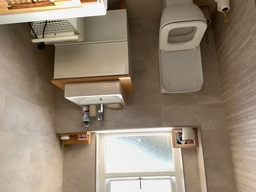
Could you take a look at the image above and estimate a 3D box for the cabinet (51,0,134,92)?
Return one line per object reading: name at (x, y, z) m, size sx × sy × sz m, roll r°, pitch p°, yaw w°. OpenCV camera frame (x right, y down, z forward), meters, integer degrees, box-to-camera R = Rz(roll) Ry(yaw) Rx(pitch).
cabinet at (-0.290, -0.460, 1.960) m, size 0.620 × 0.720 × 0.490 m, roll -3°, pitch 168°, yaw 5°
